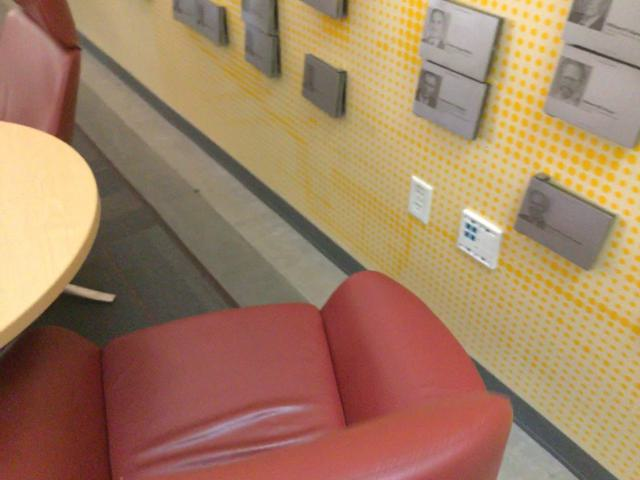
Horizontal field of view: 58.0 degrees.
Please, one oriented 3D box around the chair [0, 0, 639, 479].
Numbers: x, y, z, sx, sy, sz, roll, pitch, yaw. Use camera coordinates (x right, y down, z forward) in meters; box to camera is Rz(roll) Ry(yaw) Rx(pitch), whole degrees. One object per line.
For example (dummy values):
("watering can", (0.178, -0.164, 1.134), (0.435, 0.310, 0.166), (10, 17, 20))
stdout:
("chair", (-0.130, 0.290, 0.970), (0.890, 1.090, 0.900), (-8, 41, -17))
